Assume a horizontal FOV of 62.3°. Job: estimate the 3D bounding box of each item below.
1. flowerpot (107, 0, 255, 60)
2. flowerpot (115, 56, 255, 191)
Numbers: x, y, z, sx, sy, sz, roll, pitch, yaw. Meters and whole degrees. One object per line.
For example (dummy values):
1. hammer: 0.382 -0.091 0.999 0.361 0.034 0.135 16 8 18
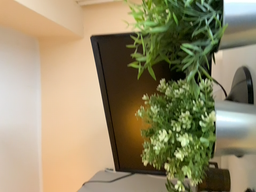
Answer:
1. flowerpot: 0.110 -0.140 0.360 0.210 0.230 0.130 -15 -74 -74
2. flowerpot: 0.130 0.040 0.410 0.190 0.260 0.200 -5 -84 -75
